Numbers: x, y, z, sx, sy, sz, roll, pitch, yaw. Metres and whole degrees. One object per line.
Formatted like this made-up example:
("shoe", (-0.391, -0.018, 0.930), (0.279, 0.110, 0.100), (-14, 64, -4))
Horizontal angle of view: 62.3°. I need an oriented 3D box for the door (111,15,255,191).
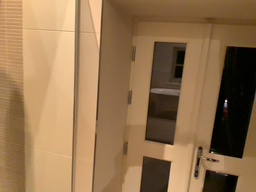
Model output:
("door", (0.350, 0.420, 1.420), (0.930, 1.790, 0.060), (8, 12, 15))
